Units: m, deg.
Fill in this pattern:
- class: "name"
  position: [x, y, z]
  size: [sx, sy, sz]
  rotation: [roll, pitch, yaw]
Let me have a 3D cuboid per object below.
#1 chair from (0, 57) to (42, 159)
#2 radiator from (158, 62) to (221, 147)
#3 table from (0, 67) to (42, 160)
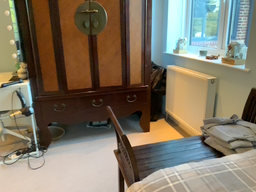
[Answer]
- class: "chair"
  position: [-1.340, 0.100, 2.190]
  size: [0.710, 0.880, 0.600]
  rotation: [-9, 20, -22]
- class: "radiator"
  position: [0.610, 0.030, 2.360]
  size: [0.150, 0.680, 0.910]
  rotation: [-8, 19, -18]
- class: "table"
  position: [-1.260, 0.140, 2.270]
  size: [0.510, 0.750, 0.740]
  rotation: [-7, 19, -18]
